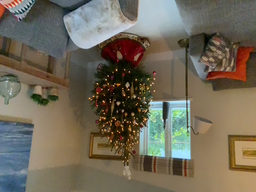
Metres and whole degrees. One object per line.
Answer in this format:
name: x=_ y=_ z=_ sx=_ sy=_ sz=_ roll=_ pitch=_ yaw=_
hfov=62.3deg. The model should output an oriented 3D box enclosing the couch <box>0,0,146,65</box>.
couch: x=-0.670 y=-0.890 z=1.590 sx=1.000 sy=0.800 sz=1.350 roll=-7 pitch=166 yaw=41
